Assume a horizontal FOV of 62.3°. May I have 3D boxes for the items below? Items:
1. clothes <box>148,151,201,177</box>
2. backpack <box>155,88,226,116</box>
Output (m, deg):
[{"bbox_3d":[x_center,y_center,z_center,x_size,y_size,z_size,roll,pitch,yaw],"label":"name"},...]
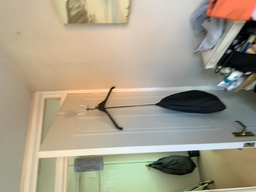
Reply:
[{"bbox_3d":[0.870,1.310,4.080,0.250,0.920,0.420,100,168,-65],"label":"clothes"},{"bbox_3d":[0.380,0.030,1.380,0.320,0.350,0.130,-127,36,-81],"label":"backpack"}]
